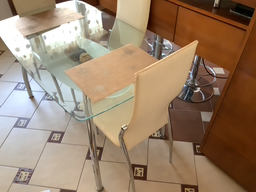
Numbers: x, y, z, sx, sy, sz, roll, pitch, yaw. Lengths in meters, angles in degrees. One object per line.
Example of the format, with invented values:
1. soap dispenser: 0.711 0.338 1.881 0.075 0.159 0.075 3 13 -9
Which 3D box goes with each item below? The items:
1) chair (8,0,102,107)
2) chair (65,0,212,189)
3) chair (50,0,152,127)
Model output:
1. chair: -0.590 -0.480 1.800 0.400 0.950 0.560 -33 53 -29
2. chair: 0.020 0.020 1.270 0.370 0.970 0.560 -29 51 -27
3. chair: -0.160 -0.310 1.610 0.530 0.970 0.350 -30 52 -28
